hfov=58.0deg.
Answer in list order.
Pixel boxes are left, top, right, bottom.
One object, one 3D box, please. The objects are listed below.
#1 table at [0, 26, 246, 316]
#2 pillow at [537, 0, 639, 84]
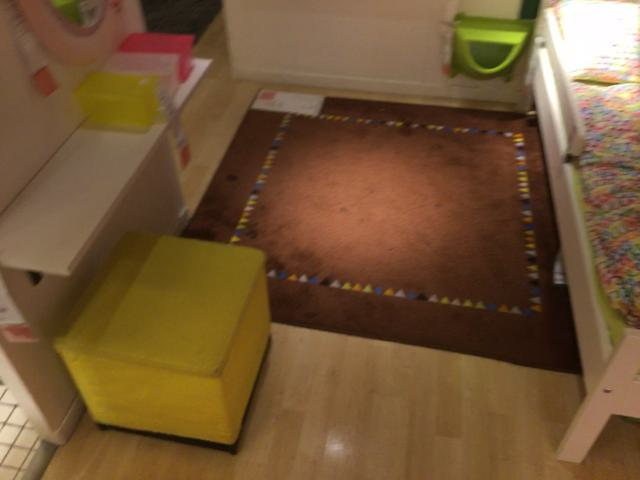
[{"bbox_3d":[-0.420,-0.220,1.320,0.210,0.210,0.820,9,43,12],"label":"table"},{"bbox_3d":[1.150,-0.700,1.930,0.750,0.180,0.440,7,43,10],"label":"pillow"}]
